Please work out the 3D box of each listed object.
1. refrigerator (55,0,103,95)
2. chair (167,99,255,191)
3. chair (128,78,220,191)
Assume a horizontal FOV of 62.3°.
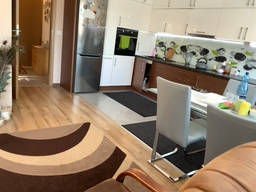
[{"bbox_3d":[-1.060,-1.090,4.430,0.610,2.020,0.660,-4,20,-38],"label":"refrigerator"},{"bbox_3d":[0.770,0.540,1.680,0.720,0.900,0.450,-4,20,-39],"label":"chair"},{"bbox_3d":[0.450,0.330,2.170,0.620,0.950,0.450,-4,20,-39],"label":"chair"}]
